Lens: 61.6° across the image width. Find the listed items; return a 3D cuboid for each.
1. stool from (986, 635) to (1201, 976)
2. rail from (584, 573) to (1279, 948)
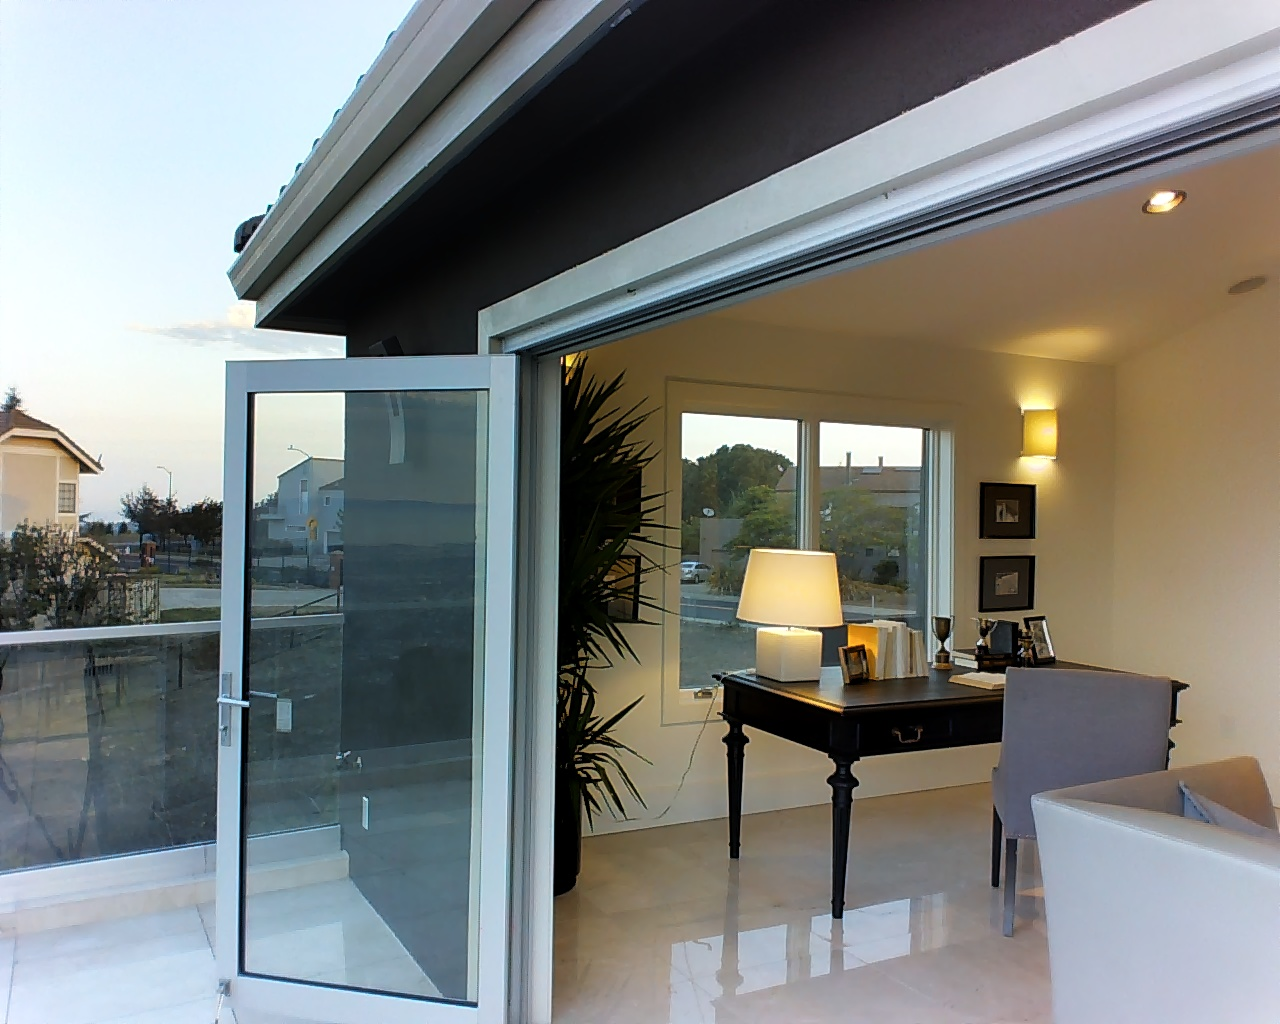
[{"bbox_3d":[1.670,1.040,4.060,0.650,1.040,0.750,1,0,16],"label":"stool"},{"bbox_3d":[3.450,0.690,2.230,3.550,0.550,9.180,1,0,-28],"label":"rail"}]
